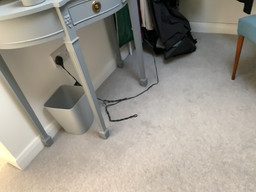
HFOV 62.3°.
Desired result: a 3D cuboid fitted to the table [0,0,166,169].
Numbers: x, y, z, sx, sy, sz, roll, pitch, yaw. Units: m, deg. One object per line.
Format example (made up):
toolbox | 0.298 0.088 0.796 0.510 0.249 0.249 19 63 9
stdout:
table | -0.160 -0.260 1.190 0.420 0.750 0.940 13 46 26
